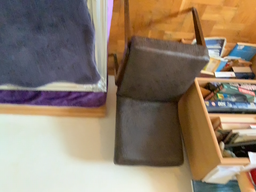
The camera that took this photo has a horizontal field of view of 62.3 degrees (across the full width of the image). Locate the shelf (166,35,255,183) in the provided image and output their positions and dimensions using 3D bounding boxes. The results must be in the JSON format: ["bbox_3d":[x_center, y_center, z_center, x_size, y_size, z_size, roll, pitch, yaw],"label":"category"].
[{"bbox_3d":[0.610,0.050,1.320,0.540,0.840,0.360,2,143,-7],"label":"shelf"}]
